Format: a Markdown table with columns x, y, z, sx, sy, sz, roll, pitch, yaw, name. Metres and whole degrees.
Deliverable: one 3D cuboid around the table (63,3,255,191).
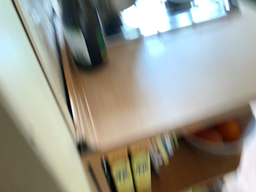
| x | y | z | sx | sy | sz | roll | pitch | yaw | name |
| --- | --- | --- | --- | --- | --- | --- | --- | --- | --- |
| 0.200 | 0.210 | 0.800 | 0.590 | 0.870 | 0.340 | -18 | 44 | -11 | table |
